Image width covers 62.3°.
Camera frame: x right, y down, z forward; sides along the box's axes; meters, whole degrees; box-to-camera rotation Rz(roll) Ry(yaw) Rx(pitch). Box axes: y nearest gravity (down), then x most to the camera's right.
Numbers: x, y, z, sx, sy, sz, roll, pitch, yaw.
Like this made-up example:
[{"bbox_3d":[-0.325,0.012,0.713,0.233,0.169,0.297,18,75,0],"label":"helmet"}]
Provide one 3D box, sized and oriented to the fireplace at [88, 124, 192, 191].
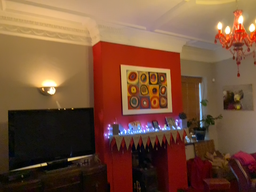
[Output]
[{"bbox_3d":[0.280,1.260,4.160,1.930,1.290,0.760,1,-4,-33],"label":"fireplace"}]
